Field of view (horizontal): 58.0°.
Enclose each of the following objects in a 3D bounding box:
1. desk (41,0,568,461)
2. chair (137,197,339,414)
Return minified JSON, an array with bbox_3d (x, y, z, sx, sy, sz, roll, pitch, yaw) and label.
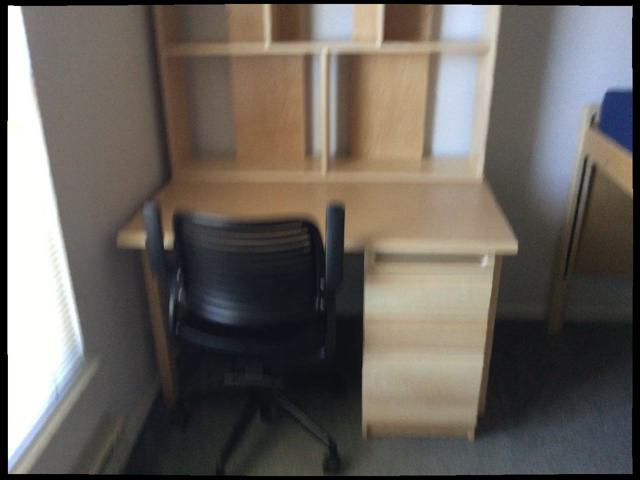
[{"bbox_3d":[-0.010,-0.170,2.150,1.288,1.562,0.990,1,26,4],"label":"desk"},{"bbox_3d":[-0.220,0.210,1.810,0.549,0.641,0.220,1,26,4],"label":"chair"}]
